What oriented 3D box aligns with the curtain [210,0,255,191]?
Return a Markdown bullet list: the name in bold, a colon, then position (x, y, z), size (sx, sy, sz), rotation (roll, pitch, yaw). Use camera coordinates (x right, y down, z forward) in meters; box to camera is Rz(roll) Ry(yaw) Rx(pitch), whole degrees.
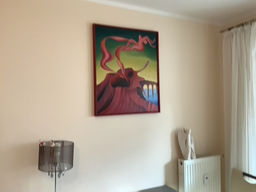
- **curtain**: position (1.240, 0.340, 2.250), size (0.380, 2.550, 0.540), rotation (0, -1, -24)
